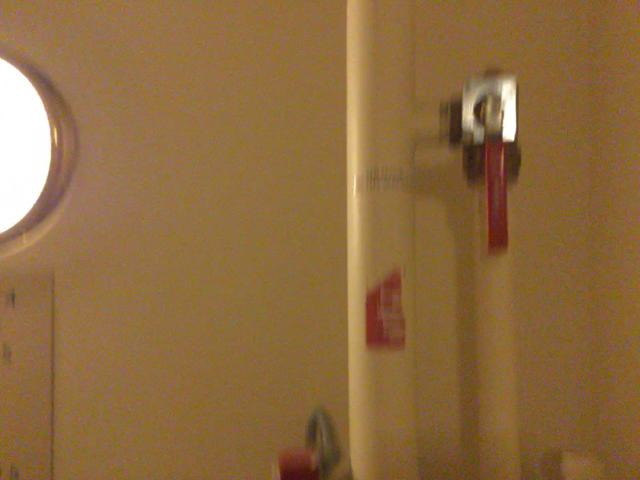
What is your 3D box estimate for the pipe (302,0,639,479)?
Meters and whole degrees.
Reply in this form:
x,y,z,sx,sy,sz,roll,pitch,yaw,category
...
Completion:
x,y,z,sx,sy,sz,roll,pitch,yaw,category
0.270,0.130,1.050,0.530,2.940,0.360,3,1,-9,pipe
